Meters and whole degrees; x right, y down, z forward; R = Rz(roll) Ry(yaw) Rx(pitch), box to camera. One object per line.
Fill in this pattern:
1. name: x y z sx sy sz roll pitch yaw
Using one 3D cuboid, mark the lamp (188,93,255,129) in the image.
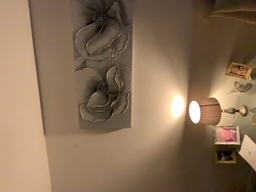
1. lamp: 0.850 0.130 1.970 0.240 0.480 0.250 -100 11 -68
